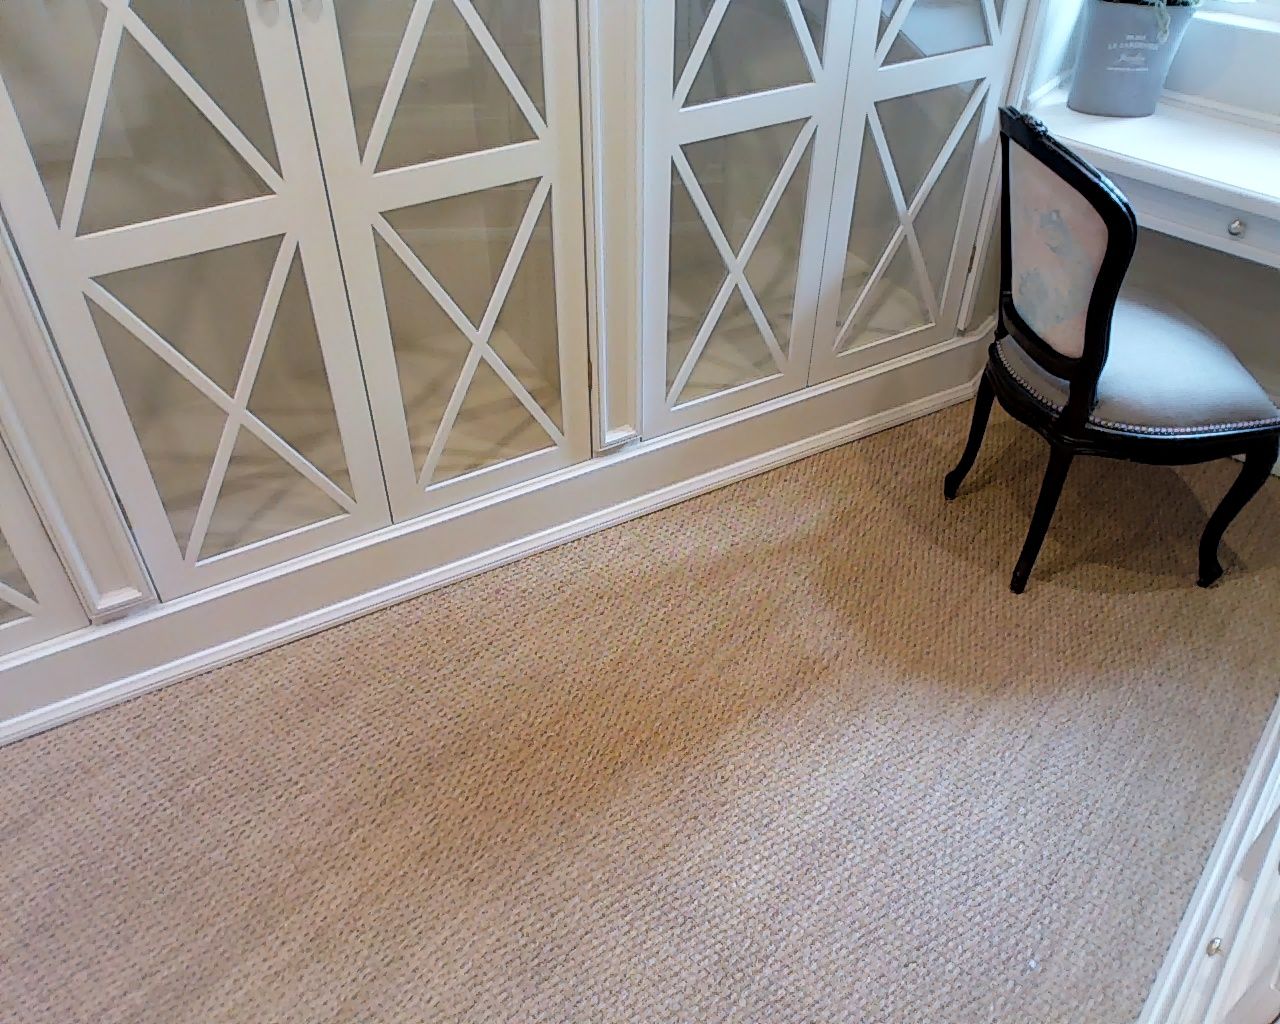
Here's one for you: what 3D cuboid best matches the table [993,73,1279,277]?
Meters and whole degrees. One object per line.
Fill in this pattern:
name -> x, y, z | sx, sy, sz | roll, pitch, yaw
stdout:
table -> 1.230, -0.630, 2.120 | 0.950, 0.150, 0.340 | 29, 49, 28

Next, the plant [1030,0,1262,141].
plant -> 1.040, -1.080, 2.090 | 0.300, 0.540, 0.360 | 28, 48, 27

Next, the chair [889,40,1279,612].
chair -> 0.910, -0.320, 2.040 | 0.610, 0.950, 0.440 | -4, 42, -5
